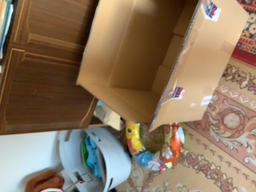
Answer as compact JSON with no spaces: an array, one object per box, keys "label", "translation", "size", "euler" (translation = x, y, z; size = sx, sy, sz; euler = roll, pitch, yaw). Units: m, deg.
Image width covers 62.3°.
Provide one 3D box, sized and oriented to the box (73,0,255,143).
[{"label":"box","translation":[0.180,-0.200,1.050],"size":[0.460,0.580,0.630],"euler":[35,110,37]}]
